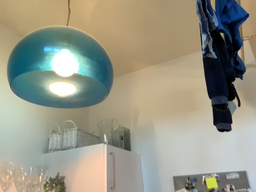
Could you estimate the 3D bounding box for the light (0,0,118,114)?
[{"bbox_3d":[-0.570,-0.320,1.390,0.810,0.600,0.580,-15,-26,26],"label":"light"}]
